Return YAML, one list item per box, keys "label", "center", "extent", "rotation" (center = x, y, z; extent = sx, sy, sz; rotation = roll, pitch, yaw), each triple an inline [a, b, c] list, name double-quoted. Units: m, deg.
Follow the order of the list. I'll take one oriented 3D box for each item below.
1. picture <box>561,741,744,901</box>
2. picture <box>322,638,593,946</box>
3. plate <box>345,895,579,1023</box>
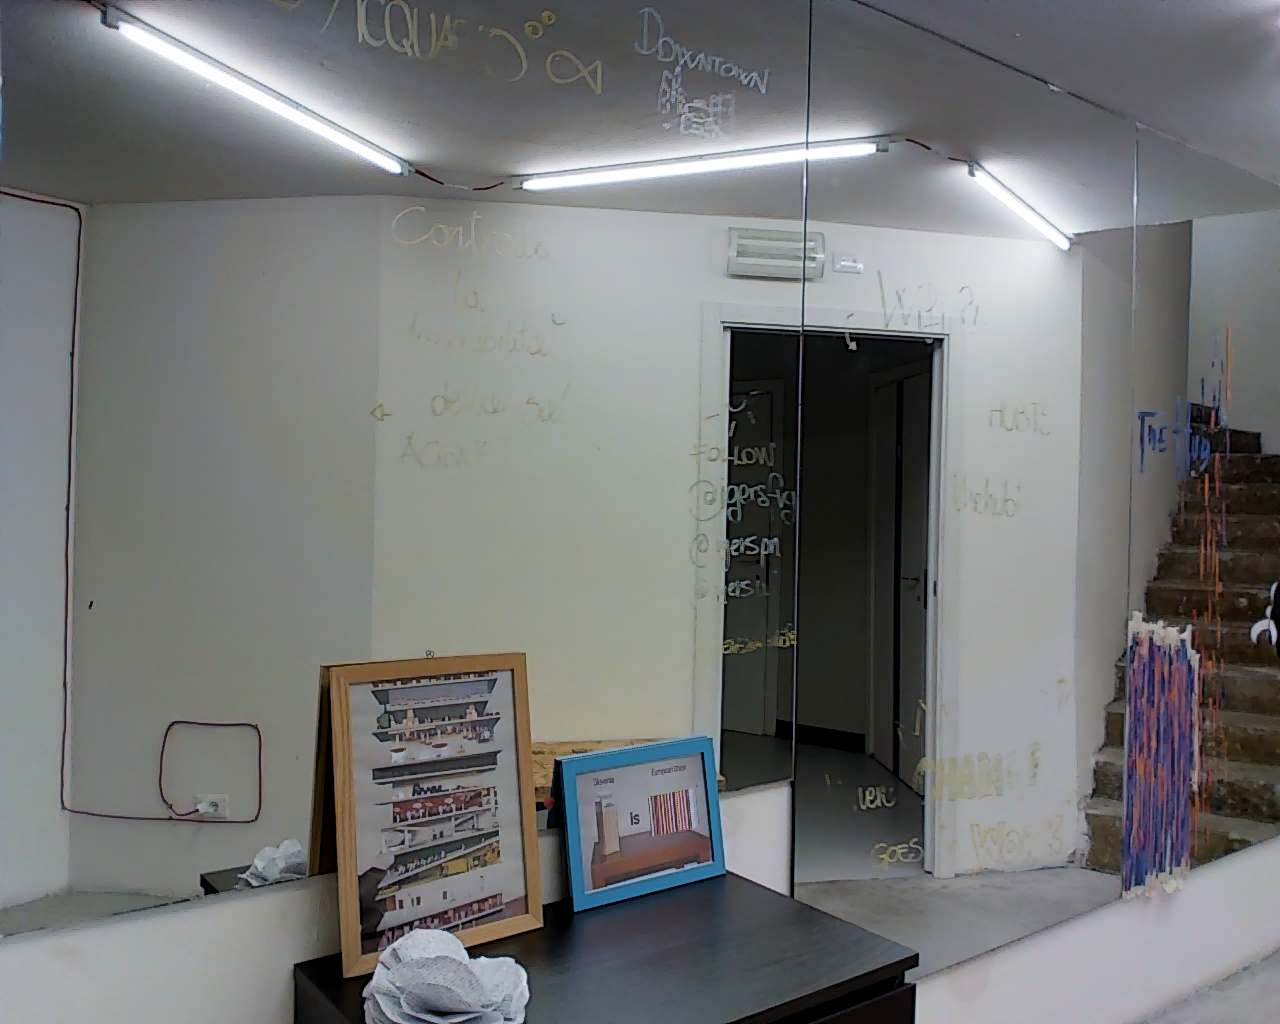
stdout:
- label: "picture"
  center: [0.030, 0.540, 1.900]
  extent: [0.340, 0.260, 0.030]
  rotation: [11, -2, -38]
- label: "picture"
  center: [-0.270, 0.420, 1.670]
  extent: [0.390, 0.430, 0.050]
  rotation: [8, -1, -38]
- label: "plate"
  center: [-0.240, 0.620, 1.440]
  extent: [0.220, 0.100, 0.230]
  rotation: [0, 1, -40]
